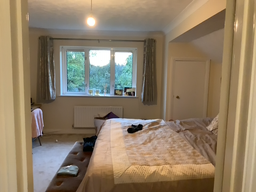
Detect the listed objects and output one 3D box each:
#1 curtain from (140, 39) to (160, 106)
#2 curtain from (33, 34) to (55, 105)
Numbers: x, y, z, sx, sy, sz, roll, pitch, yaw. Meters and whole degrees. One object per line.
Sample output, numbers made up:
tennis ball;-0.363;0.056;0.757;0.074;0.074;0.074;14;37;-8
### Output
curtain;0.490;-0.510;4.770;0.380;1.480;0.140;1;7;-4
curtain;-1.840;-0.570;4.670;0.370;1.500;0.180;1;7;2
